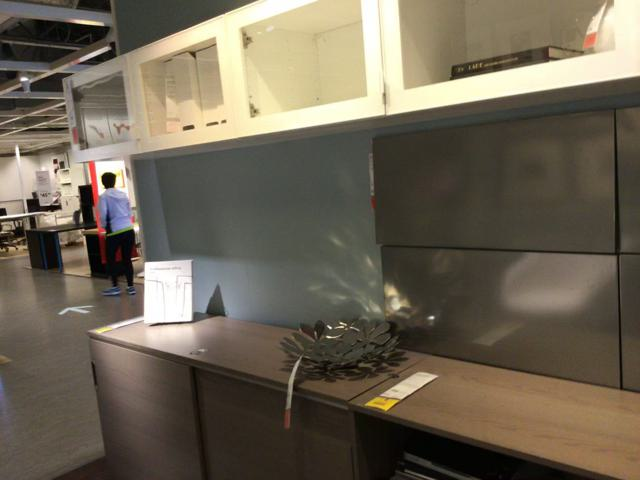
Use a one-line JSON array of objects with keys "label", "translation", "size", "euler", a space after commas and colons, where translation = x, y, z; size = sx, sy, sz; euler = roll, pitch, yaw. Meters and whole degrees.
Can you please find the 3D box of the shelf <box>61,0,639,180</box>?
[{"label": "shelf", "translation": [0.050, -0.520, 1.760], "size": [2.910, 0.490, 0.480], "euler": [1, 7, 45]}]
